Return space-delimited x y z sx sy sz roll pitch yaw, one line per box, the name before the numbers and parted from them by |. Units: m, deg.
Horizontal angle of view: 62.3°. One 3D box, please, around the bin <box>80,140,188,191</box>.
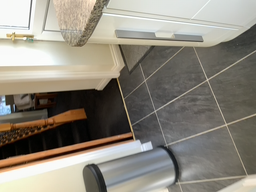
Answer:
bin | 0.050 0.600 1.590 0.300 0.680 0.370 -32 69 56
